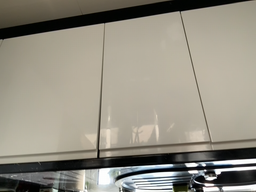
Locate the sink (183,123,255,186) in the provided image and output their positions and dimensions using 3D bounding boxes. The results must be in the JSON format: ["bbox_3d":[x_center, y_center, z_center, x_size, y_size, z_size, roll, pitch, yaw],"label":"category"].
[{"bbox_3d":[0.460,0.270,0.920,0.390,0.150,0.400,-6,148,7],"label":"sink"}]
